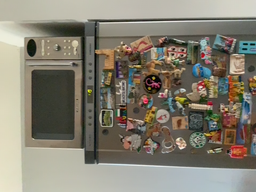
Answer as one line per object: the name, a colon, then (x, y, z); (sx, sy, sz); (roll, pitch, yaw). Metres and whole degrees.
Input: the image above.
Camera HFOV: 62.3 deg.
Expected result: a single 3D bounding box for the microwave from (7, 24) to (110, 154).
microwave: (-0.330, -0.060, 1.250); (0.630, 0.340, 0.570); (-56, -33, -82)
